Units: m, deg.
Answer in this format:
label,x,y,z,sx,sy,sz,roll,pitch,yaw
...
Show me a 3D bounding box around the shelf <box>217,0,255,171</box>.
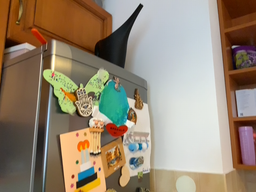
label,x,y,z,sx,sy,sz,roll,pitch,yaw
shelf,0.710,-0.140,1.130,0.310,1.000,0.310,-8,-14,35
